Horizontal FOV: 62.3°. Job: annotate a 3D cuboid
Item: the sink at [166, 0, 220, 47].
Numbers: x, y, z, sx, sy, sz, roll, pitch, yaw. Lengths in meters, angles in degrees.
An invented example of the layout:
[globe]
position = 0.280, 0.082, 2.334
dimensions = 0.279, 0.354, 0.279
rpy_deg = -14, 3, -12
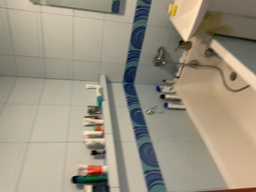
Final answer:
[sink]
position = 0.510, -0.750, 1.620
dimensions = 0.400, 0.170, 0.610
rpy_deg = -105, 22, -52
